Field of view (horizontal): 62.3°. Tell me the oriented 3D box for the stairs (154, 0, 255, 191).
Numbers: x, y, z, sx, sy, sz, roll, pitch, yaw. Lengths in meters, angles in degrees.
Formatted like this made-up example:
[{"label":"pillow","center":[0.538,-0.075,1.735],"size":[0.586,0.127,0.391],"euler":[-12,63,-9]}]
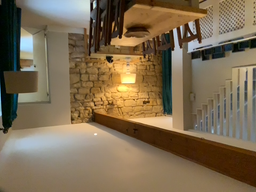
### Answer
[{"label":"stairs","center":[2.100,-0.310,3.000],"size":[1.930,3.080,3.480],"euler":[-3,-177,-22]}]
